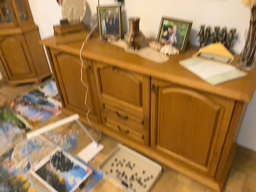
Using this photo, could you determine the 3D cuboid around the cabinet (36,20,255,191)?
[{"bbox_3d":[0.050,-0.040,1.720,1.590,0.810,0.470,20,42,30],"label":"cabinet"}]
